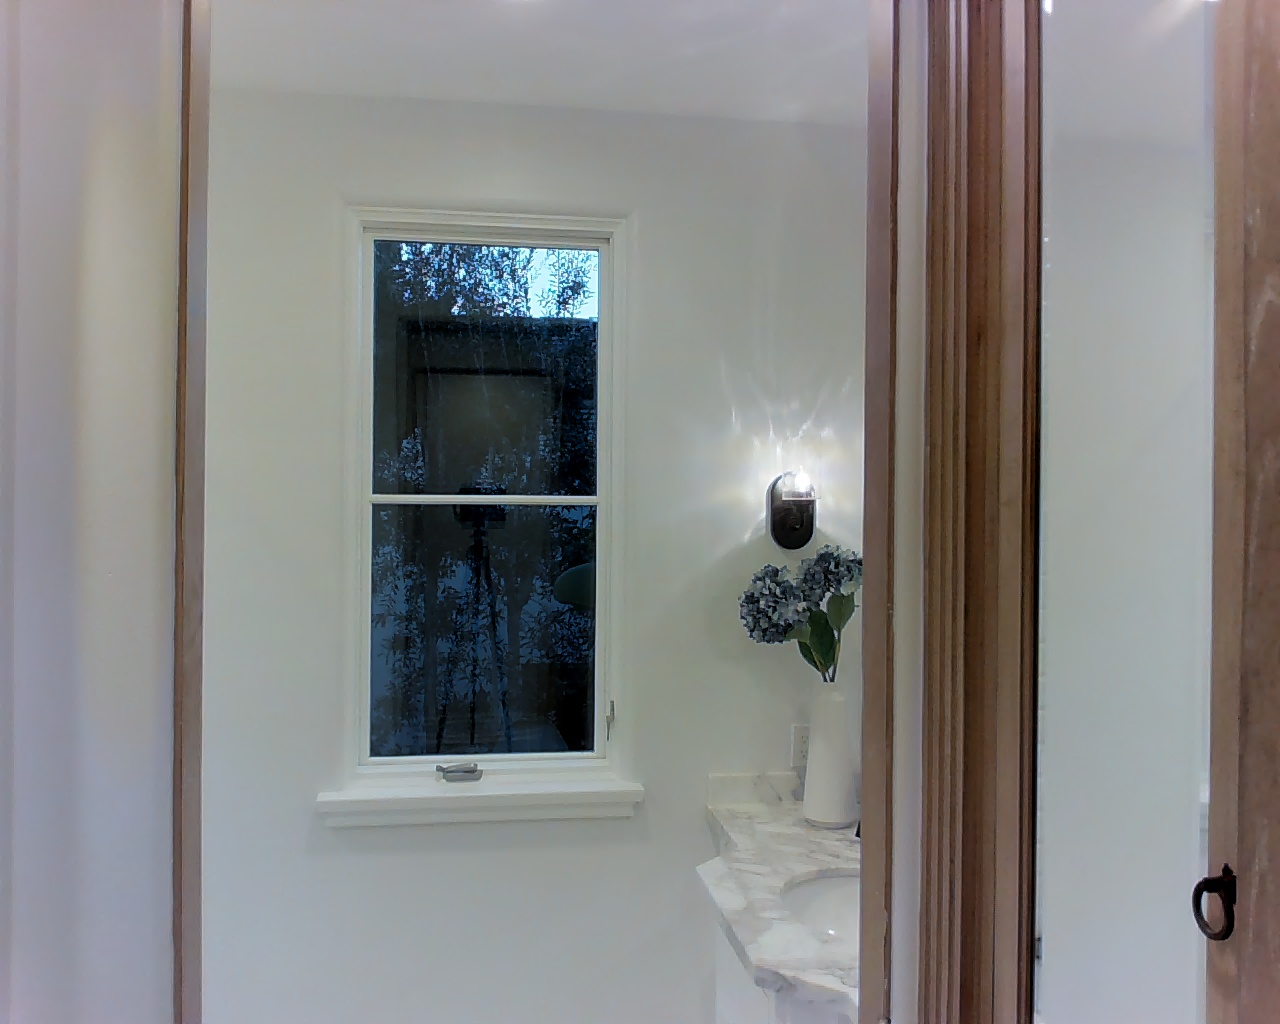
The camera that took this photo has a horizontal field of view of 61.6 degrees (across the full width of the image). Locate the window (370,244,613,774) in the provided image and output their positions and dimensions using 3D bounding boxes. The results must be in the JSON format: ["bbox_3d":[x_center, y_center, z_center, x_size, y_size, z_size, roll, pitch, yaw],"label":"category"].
[{"bbox_3d":[-0.390,-0.010,2.850,0.630,1.370,0.070,0,-1,-7],"label":"window"}]

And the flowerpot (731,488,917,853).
[{"bbox_3d":[0.450,0.370,2.670,0.380,0.850,0.270,0,-1,-11],"label":"flowerpot"}]

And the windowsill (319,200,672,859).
[{"bbox_3d":[-0.370,0.040,2.800,0.880,1.631,0.180,0,-1,-7],"label":"windowsill"}]
